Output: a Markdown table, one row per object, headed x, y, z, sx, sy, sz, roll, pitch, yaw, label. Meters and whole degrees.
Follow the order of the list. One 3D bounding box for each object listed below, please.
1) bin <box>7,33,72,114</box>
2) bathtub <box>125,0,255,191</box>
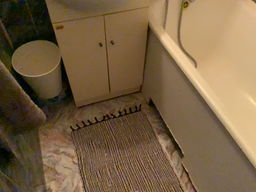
| x | y | z | sx | sy | sz | roll | pitch | yaw | label |
| --- | --- | --- | --- | --- | --- | --- | --- | --- | --- |
| -0.540 | -0.130 | 1.330 | 0.250 | 0.400 | 0.250 | -16 | 54 | -15 | bin |
| 0.540 | 0.000 | 1.200 | 0.690 | 0.590 | 1.350 | -15 | 54 | -14 | bathtub |
